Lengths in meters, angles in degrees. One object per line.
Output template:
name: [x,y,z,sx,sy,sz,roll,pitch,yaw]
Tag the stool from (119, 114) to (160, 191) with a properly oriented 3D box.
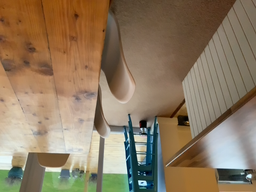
stool: [0.120,0.810,2.960,0.430,1.010,0.410,5,147,-10]
